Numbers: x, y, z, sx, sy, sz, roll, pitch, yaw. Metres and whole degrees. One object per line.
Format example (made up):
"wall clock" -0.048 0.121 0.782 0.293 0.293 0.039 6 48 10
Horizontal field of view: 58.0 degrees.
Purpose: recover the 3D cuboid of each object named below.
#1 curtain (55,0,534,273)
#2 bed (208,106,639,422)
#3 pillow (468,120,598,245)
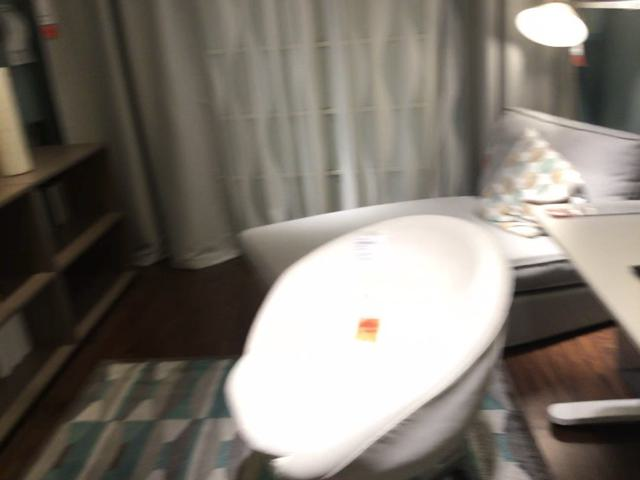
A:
"curtain" -0.120 -1.060 3.010 2.340 2.430 0.260 -3 20 3
"bed" 0.430 -0.050 2.600 1.560 0.810 1.070 -12 21 -18
"pillow" 0.900 -0.270 2.540 0.390 0.410 0.490 -3 20 3
